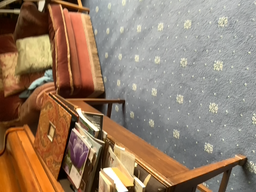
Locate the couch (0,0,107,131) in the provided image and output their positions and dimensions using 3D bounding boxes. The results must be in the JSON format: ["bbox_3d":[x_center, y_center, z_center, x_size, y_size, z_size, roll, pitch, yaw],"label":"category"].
[{"bbox_3d":[-0.860,-0.250,2.080,0.980,0.740,0.930,-30,67,47],"label":"couch"}]
